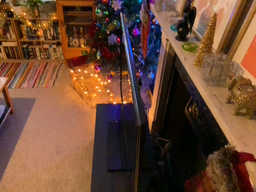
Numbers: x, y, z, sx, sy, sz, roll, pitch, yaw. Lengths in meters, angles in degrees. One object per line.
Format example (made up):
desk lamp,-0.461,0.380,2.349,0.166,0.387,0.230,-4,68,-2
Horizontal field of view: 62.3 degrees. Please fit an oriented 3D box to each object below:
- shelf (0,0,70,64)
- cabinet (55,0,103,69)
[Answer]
shelf,-1.660,-0.900,2.990,1.510,0.740,0.410,0,37,-5
cabinet,-0.630,-0.910,2.990,0.540,0.900,0.550,0,37,-5
